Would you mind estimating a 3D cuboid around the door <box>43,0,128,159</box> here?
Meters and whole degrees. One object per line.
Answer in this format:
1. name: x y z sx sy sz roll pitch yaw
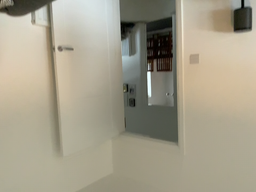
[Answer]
1. door: -0.390 -0.490 2.280 0.170 2.050 0.990 3 -173 37
